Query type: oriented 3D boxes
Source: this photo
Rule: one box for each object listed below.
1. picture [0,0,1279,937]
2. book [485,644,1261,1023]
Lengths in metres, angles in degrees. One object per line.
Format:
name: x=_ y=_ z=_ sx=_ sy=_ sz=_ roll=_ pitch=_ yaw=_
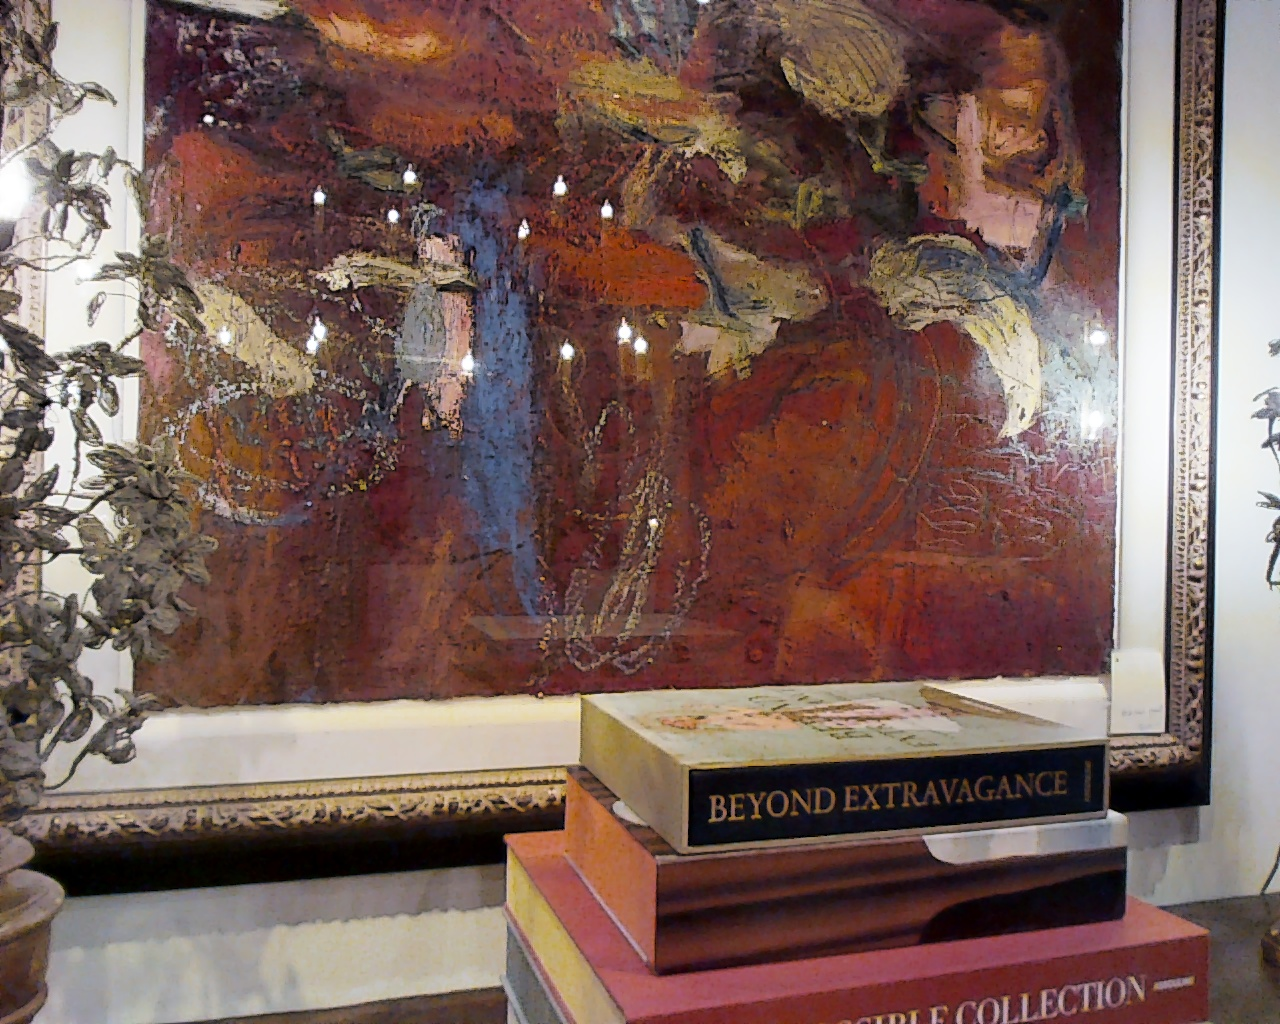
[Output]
picture: x=0.090 y=-0.410 z=1.270 sx=1.610 sy=1.630 sz=0.130 roll=1 pitch=0 yaw=-18
book: x=0.160 y=0.330 z=0.940 sx=0.510 sy=0.370 sz=0.430 roll=1 pitch=0 yaw=-18
